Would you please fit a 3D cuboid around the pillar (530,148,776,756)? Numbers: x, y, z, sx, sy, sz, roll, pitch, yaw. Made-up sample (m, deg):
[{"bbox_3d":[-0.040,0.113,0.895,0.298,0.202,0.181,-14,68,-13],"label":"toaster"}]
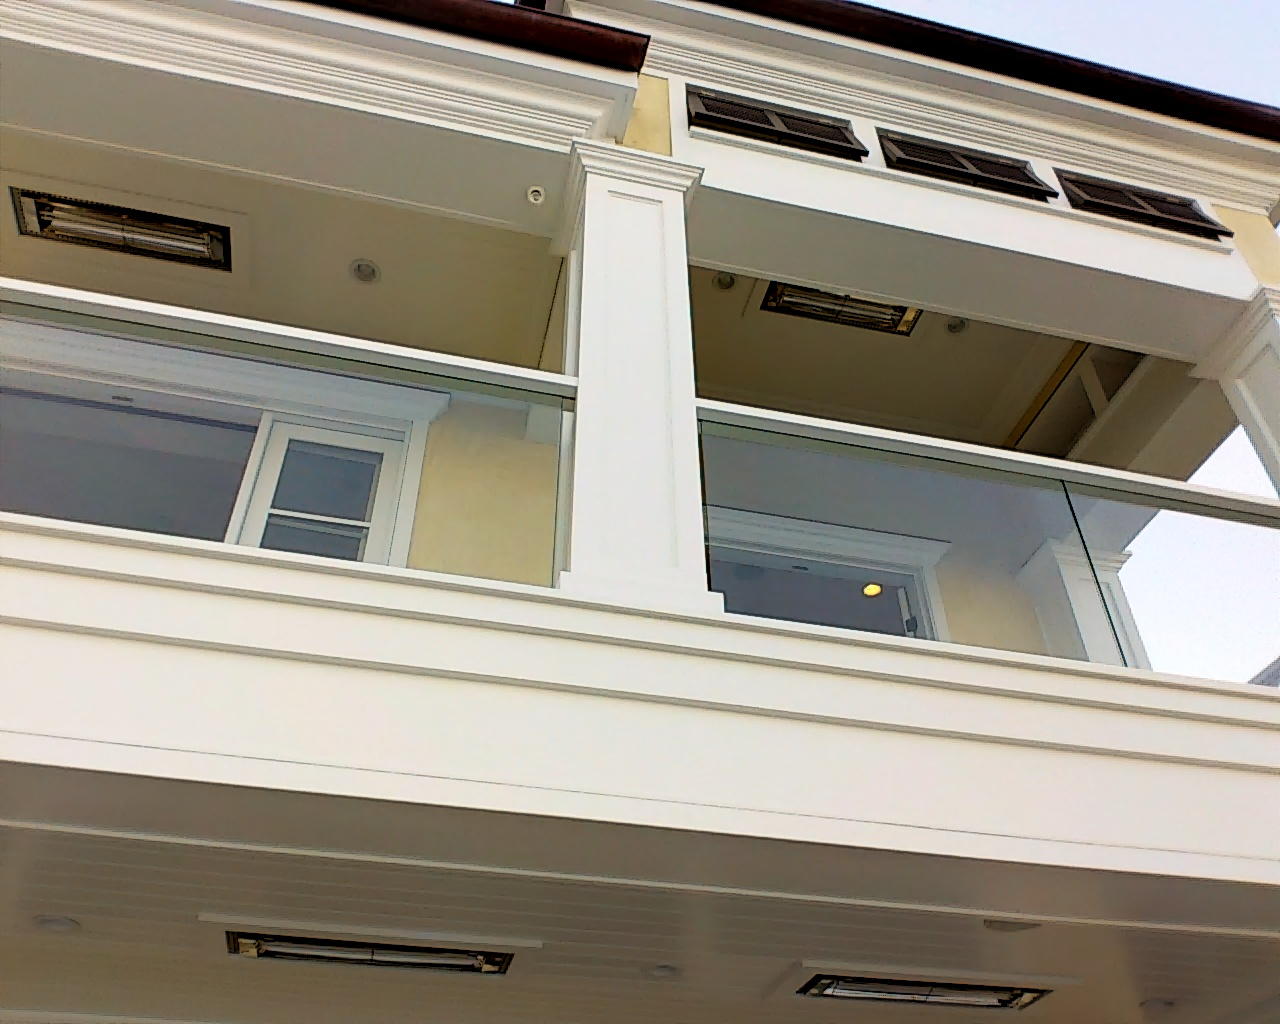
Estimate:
[{"bbox_3d":[0.020,-0.390,4.220,0.640,2.571,0.640,9,-41,-10],"label":"pillar"}]
